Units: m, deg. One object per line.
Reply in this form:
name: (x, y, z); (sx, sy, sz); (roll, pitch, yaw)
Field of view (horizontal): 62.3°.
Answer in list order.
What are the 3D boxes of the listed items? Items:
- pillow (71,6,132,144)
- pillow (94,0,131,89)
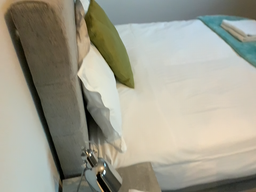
pillow: (-0.120, -0.080, 1.060); (0.140, 0.450, 0.510); (-13, 63, -3)
pillow: (-0.110, -0.400, 1.480); (0.120, 0.450, 0.550); (-13, 66, -2)
